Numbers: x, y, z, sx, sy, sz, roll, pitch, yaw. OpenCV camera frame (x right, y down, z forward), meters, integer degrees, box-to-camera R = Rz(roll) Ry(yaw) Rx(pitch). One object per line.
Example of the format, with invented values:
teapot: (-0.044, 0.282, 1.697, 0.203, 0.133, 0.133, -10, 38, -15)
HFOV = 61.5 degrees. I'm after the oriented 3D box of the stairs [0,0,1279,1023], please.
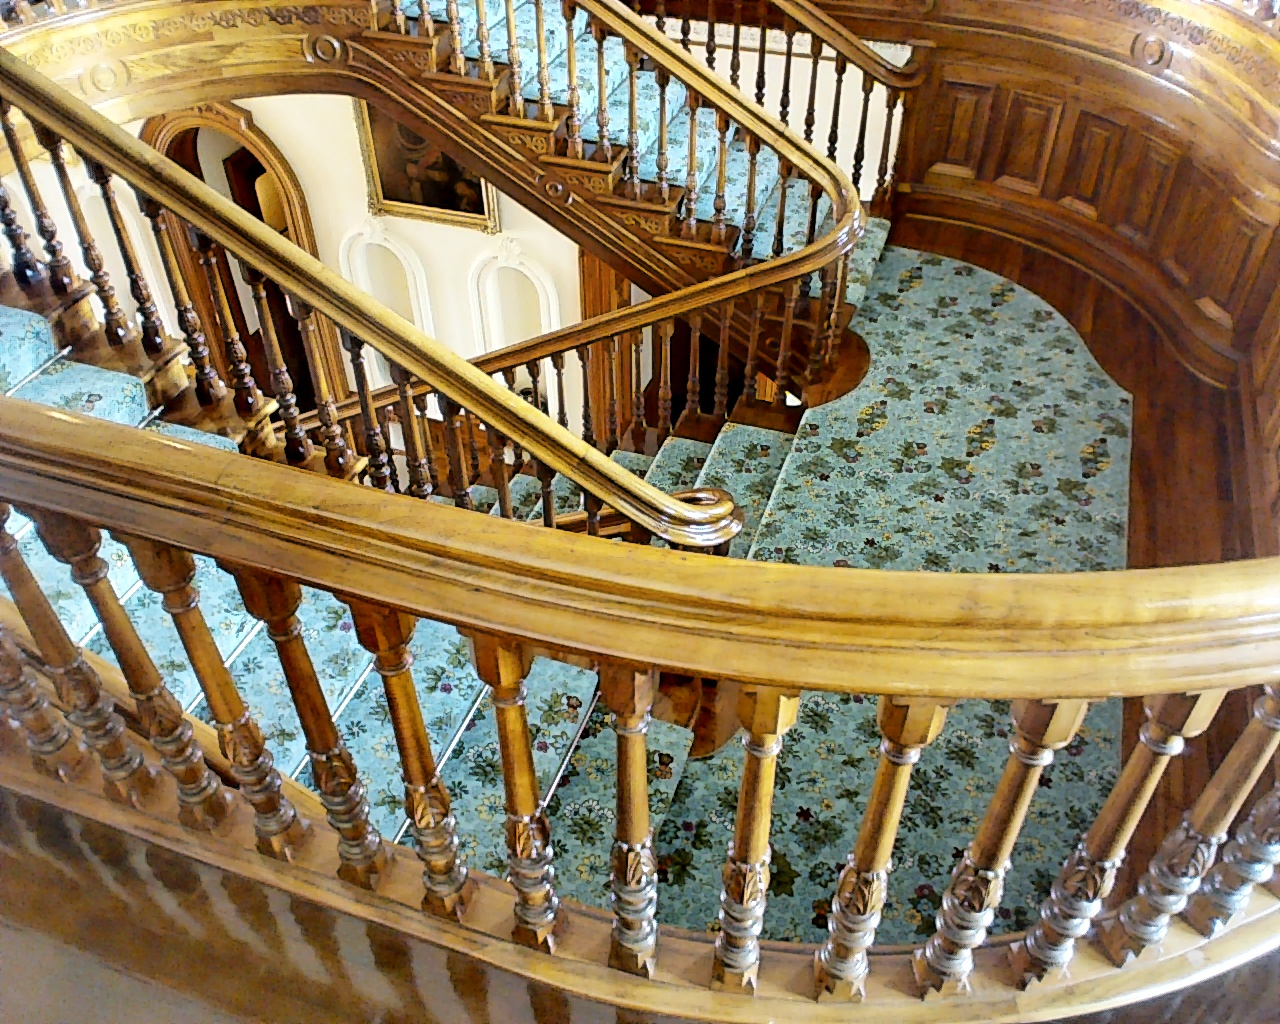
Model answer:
stairs: (-0.470, 0.150, 1.270, 2.940, 1.500, 1.530, 13, 44, 15)
